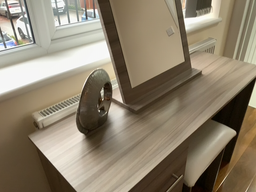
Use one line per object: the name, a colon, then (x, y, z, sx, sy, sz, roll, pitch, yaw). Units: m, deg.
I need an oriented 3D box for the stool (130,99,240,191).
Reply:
stool: (0.310, 0.400, 1.240, 0.370, 0.530, 0.470, 25, 40, 36)
